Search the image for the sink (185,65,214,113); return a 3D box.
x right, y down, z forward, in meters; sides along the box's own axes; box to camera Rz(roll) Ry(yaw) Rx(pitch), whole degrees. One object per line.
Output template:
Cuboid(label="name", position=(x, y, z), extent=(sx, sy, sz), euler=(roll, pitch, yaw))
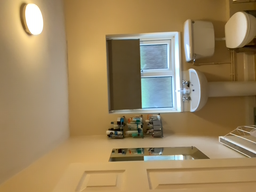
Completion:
Cuboid(label="sink", position=(0.860, -0.080, 2.600), extent=(0.450, 0.190, 0.540), euler=(-88, -4, -89))
